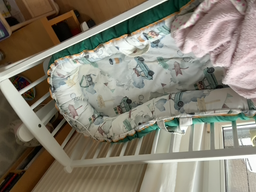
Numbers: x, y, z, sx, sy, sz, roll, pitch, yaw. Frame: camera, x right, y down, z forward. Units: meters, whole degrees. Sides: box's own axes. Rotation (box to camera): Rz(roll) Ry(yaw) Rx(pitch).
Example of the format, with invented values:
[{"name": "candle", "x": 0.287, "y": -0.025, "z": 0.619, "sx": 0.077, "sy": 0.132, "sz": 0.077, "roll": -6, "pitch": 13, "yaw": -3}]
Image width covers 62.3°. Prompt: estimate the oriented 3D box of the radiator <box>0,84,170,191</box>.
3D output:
[{"name": "radiator", "x": -0.190, "y": 0.300, "z": 1.110, "sx": 0.670, "sy": 0.830, "sz": 0.190, "roll": -14, "pitch": 117, "yaw": 28}]
